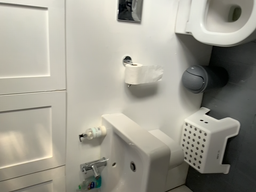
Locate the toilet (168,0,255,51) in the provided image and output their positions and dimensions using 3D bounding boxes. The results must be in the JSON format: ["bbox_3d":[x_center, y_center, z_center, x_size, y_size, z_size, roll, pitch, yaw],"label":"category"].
[{"bbox_3d":[0.600,-0.470,1.200,0.530,0.450,0.360,30,120,52],"label":"toilet"}]
